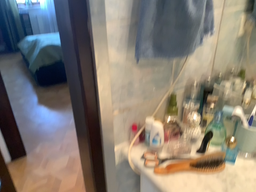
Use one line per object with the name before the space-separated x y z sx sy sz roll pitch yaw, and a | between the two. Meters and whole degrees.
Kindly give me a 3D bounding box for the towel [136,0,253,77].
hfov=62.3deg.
towel | 0.180 -0.330 0.520 0.300 0.510 0.110 -14 31 -23
